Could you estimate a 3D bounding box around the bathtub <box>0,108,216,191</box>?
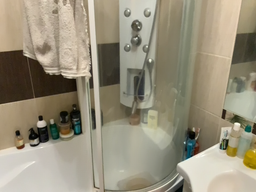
[{"bbox_3d":[-0.430,0.710,1.380,1.690,0.600,0.930,-12,26,-28],"label":"bathtub"}]
